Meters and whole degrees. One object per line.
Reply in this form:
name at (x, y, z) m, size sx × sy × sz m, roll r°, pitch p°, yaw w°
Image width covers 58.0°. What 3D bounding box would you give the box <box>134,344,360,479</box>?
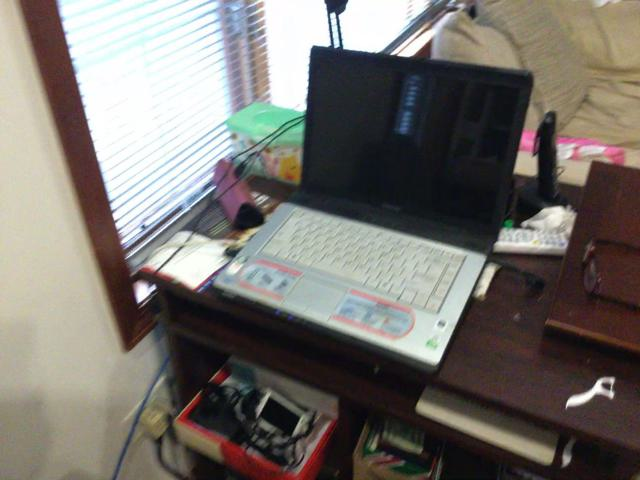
box at (-0.130, 0.340, 1.080) m, size 0.370 × 0.120 × 0.170 m, roll 11°, pitch 38°, yaw 21°
